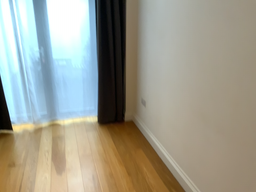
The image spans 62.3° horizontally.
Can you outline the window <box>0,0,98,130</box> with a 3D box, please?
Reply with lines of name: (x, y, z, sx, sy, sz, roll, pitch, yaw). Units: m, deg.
window: (-1.060, -0.730, 2.820, 1.200, 2.440, 0.130, -5, 21, -16)
